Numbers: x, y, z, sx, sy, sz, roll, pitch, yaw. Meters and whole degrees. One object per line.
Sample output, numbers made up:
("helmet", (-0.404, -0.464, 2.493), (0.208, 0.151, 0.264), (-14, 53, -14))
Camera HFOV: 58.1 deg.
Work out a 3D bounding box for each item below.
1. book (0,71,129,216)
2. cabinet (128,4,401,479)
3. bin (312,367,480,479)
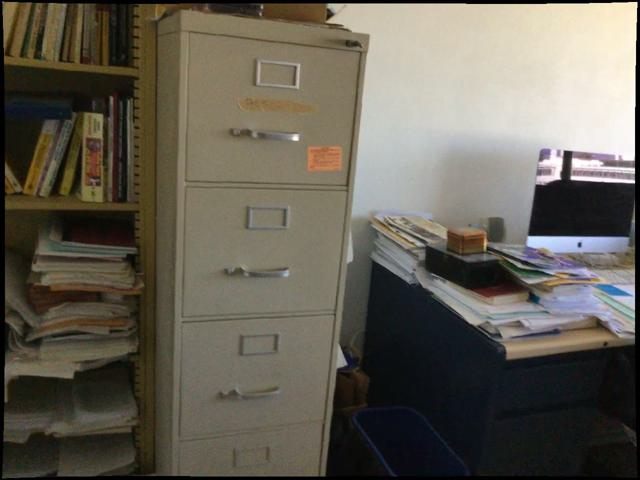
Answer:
("book", (-0.997, -0.271, 1.550), (0.898, 0.361, 0.280), (-3, 18, -20))
("cabinet", (-0.249, 0.190, 1.660), (0.499, 1.524, 0.770), (-3, 18, -20))
("bin", (0.209, 0.752, 1.860), (0.289, 0.441, 0.520), (-3, 18, -20))
